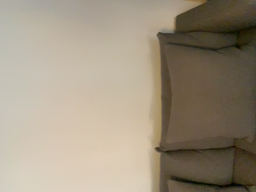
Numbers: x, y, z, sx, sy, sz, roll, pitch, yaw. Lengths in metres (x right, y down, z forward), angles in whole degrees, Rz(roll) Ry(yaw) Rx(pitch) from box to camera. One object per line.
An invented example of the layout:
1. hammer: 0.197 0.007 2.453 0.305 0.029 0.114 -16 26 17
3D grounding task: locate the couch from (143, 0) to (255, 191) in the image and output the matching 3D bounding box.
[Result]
1. couch: 0.700 0.370 1.310 1.050 0.860 1.940 -165 75 -71
